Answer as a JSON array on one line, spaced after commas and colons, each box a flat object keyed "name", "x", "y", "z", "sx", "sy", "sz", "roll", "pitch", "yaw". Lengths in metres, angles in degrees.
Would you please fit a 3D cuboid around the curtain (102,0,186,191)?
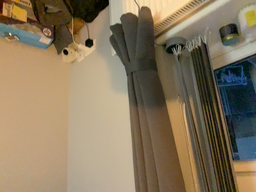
[{"name": "curtain", "x": 0.060, "y": 0.310, "z": 0.800, "sx": 0.130, "sy": 1.430, "sz": 0.270, "roll": 11, "pitch": 157, "yaw": -39}]
